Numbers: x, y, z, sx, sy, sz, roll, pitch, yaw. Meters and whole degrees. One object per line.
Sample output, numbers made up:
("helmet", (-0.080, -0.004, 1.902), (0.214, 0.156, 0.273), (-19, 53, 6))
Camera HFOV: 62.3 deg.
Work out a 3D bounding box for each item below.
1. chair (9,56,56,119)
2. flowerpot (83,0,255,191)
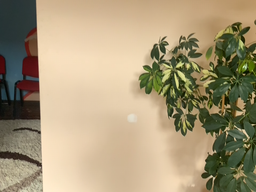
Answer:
("chair", (-1.440, -0.150, 3.320), (0.540, 0.830, 0.630), (2, 18, -13))
("flowerpot", (0.760, 0.150, 1.160), (1.520, 2.160, 1.300), (22, 24, 40))
